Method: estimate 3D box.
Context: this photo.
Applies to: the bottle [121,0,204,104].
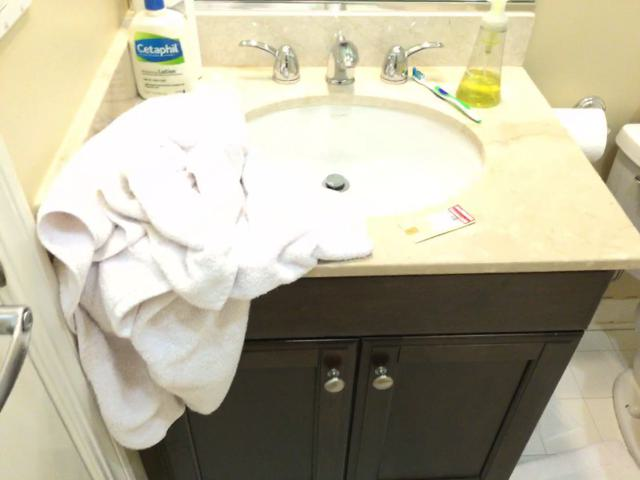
[{"bbox_3d":[-0.250,-0.330,0.930,0.090,0.200,0.080,-2,40,-1],"label":"bottle"}]
